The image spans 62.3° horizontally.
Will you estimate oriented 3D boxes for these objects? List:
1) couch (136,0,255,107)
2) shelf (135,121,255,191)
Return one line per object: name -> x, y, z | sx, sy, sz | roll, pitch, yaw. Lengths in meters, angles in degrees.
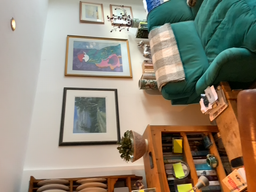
couch -> 0.720, -1.010, 2.380 | 1.060, 0.880, 1.990 | 112, 156, -58
shelf -> 0.690, 0.790, 2.020 | 0.480, 1.050, 0.970 | 110, 157, -55
